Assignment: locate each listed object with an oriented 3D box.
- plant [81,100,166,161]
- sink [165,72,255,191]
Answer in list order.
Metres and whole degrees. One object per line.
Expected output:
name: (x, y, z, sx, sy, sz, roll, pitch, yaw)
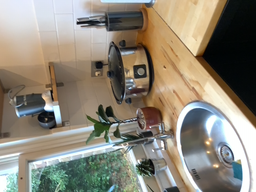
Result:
plant: (-0.040, 0.200, 1.260, 0.230, 0.440, 0.190, 102, 153, -46)
sink: (0.400, 0.230, 0.920, 0.460, 0.190, 0.460, 101, 154, -44)
